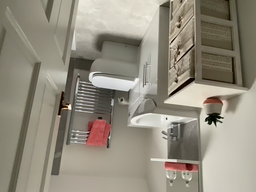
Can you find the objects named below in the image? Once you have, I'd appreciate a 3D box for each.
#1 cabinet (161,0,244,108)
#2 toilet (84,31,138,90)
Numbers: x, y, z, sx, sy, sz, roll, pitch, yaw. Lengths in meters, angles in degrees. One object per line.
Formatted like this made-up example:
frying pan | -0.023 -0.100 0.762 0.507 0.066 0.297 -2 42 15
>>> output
cabinet | 0.420 -0.390 1.330 0.280 0.840 0.410 7 163 -11
toilet | -0.190 -0.360 2.290 0.490 0.450 0.370 7 163 -11
